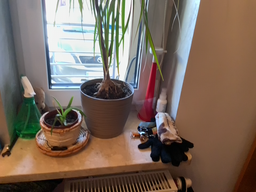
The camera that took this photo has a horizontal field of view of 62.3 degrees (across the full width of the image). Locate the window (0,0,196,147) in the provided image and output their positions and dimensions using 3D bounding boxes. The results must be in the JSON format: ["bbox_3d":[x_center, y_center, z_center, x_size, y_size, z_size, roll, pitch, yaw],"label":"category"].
[{"bbox_3d":[-0.090,-0.380,0.620,0.610,1.180,0.120,-1,27,-14],"label":"window"}]
